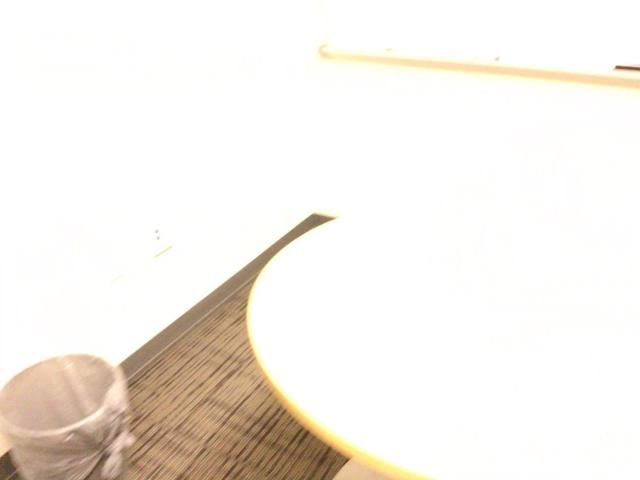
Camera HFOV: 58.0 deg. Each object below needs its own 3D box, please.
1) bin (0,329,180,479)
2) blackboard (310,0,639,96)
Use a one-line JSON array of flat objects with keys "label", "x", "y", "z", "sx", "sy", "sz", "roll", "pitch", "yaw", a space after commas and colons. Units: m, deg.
[{"label": "bin", "x": -0.640, "y": 0.510, "z": 1.520, "sx": 0.380, "sy": 0.340, "sz": 0.310, "roll": 14, "pitch": 32, "yaw": 26}, {"label": "blackboard", "x": 1.050, "y": -0.710, "z": 1.770, "sx": 2.430, "sy": 0.510, "sz": 0.140, "roll": 14, "pitch": 32, "yaw": 26}]
